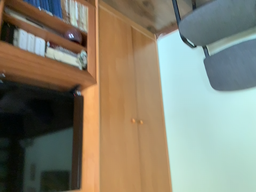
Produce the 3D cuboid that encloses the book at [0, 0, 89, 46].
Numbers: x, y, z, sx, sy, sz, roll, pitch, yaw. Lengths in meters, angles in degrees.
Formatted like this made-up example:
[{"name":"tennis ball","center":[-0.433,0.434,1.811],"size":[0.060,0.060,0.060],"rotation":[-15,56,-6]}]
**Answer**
[{"name":"book","center":[-0.530,-0.590,1.420],"size":[0.140,0.300,0.550],"rotation":[-16,158,39]}]
